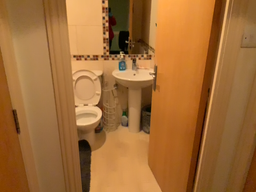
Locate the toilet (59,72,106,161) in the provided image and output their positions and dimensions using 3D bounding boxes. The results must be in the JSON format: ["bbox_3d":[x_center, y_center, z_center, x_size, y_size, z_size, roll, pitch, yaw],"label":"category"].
[{"bbox_3d":[-0.480,0.200,2.460,0.420,0.780,0.670,-2,23,-7],"label":"toilet"}]
